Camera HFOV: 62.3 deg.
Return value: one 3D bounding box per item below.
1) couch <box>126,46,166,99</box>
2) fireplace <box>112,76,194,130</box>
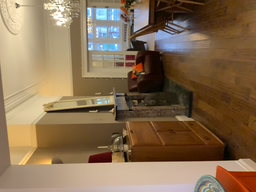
[{"bbox_3d":[0.410,-0.580,5.430,0.920,0.810,0.960,100,169,-59],"label":"couch"},{"bbox_3d":[0.320,0.040,4.020,1.630,1.210,0.610,-113,24,-76],"label":"fireplace"}]
